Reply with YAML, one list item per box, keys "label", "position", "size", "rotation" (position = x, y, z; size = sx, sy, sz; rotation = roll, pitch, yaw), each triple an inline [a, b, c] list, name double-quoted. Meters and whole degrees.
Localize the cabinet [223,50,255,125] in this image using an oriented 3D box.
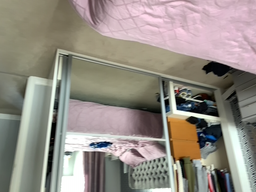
- label: "cabinet"
  position: [1.410, -0.070, 2.260]
  size: [0.450, 0.640, 0.430]
  rotation: [10, 154, -26]
